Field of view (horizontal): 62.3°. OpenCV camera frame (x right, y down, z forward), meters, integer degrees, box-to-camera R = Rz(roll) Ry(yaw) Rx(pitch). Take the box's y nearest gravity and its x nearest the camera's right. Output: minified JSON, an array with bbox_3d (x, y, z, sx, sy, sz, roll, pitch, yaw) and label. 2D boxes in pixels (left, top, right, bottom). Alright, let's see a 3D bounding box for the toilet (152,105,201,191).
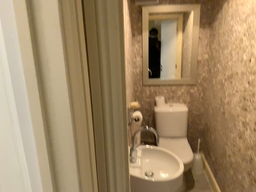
[{"bbox_3d":[0.510,0.580,2.430,0.410,0.780,0.700,-1,15,3],"label":"toilet"}]
